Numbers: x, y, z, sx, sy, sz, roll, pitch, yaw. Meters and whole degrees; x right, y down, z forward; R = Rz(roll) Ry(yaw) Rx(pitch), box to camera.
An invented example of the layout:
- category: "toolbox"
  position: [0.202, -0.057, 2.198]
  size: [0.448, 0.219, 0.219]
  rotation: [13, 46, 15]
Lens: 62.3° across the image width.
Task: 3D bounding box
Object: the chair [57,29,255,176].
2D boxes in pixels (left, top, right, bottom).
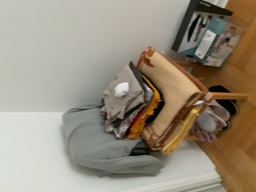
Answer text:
- category: "chair"
  position: [0.160, 0.040, 1.360]
  size: [0.510, 1.030, 0.560]
  rotation: [58, 135, 43]
